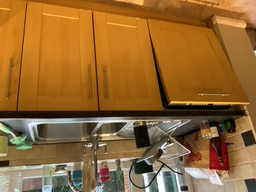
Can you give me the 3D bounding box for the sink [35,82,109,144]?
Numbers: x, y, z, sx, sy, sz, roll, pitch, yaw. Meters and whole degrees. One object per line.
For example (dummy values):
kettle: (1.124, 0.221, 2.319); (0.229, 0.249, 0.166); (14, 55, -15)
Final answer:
sink: (-0.390, 0.140, 1.420); (0.390, 0.230, 0.530); (2, 156, -20)
